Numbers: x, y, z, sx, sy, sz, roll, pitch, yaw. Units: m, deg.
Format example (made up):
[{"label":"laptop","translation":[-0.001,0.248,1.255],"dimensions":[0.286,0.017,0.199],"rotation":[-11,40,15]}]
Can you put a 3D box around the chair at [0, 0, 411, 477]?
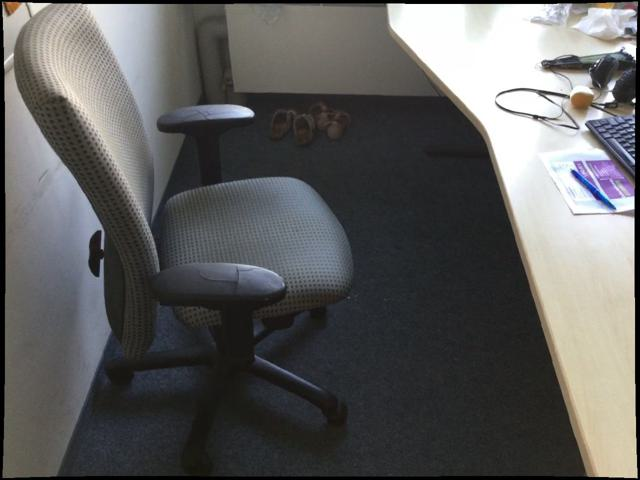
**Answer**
[{"label":"chair","translation":[-0.240,-0.040,1.380],"dimensions":[0.619,0.981,0.680],"rotation":[-9,45,-9]}]

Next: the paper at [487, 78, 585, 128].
[{"label":"paper","translation":[0.509,-0.330,1.380],"dimensions":[0.180,0.020,0.190],"rotation":[1,44,1]}]
